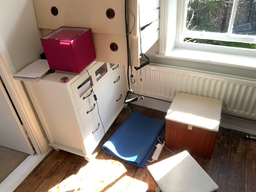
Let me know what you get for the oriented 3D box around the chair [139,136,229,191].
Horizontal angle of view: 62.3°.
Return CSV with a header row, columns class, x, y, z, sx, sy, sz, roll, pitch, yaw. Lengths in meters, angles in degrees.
class,x,y,z,sx,sy,sz,roll,pitch,yaw
chair,0.370,0.620,1.550,0.420,0.300,0.450,-17,38,-17
